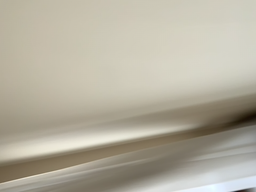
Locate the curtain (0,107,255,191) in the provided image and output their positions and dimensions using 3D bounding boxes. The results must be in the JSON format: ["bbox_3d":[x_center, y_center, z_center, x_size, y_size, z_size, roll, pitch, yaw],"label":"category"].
[{"bbox_3d":[0.160,0.350,0.950,0.330,2.960,0.340,95,164,-56],"label":"curtain"}]
